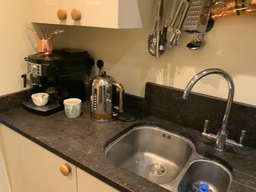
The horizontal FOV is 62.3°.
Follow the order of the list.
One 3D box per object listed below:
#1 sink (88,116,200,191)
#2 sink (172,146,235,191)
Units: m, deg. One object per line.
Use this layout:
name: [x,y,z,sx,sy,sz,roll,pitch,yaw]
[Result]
sink: [0.090,0.330,1.050,0.370,0.230,0.430,16,24,30]
sink: [0.310,0.370,0.880,0.180,0.180,0.230,16,24,30]
